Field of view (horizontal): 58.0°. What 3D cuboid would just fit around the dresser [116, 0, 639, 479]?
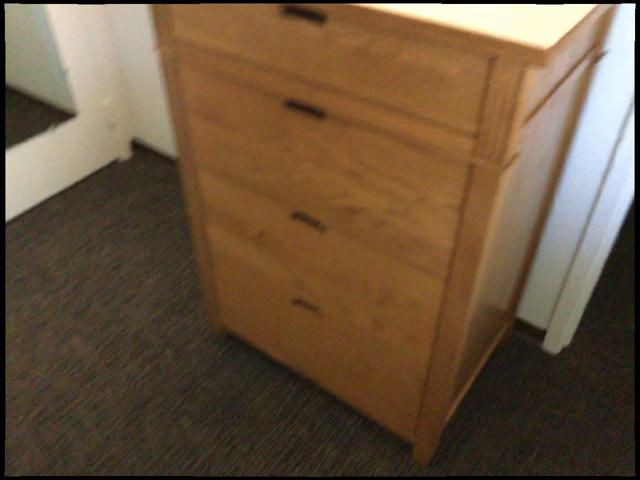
[{"bbox_3d":[0.130,-0.140,1.390,0.789,1.081,0.630,26,50,26],"label":"dresser"}]
